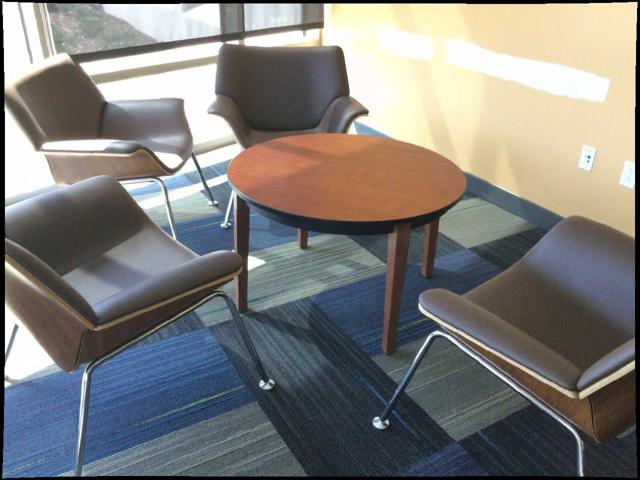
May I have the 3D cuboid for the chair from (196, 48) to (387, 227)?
[{"bbox_3d":[-0.190,-0.602,3.190,0.898,0.741,0.740,-3,30,-9],"label":"chair"}]

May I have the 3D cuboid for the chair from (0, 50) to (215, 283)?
[{"bbox_3d":[-1.047,-0.401,2.750,0.798,0.761,0.890,6,30,7],"label":"chair"}]

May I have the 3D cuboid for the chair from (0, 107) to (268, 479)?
[{"bbox_3d":[-0.728,0.130,1.770,0.759,0.751,0.849,-24,38,-37],"label":"chair"}]

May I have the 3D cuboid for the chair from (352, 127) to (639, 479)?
[{"bbox_3d":[0.728,0.251,1.620,0.879,0.761,0.869,-22,38,-35],"label":"chair"}]
